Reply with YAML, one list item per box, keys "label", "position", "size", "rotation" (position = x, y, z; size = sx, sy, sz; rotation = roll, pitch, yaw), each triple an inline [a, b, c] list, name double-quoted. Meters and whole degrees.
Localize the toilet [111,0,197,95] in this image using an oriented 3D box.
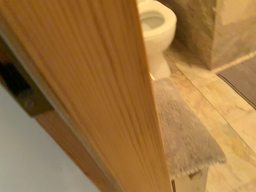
- label: "toilet"
  position: [0.140, -0.520, 1.420]
  size: [0.370, 0.760, 0.600]
  rotation: [-19, 46, -2]
